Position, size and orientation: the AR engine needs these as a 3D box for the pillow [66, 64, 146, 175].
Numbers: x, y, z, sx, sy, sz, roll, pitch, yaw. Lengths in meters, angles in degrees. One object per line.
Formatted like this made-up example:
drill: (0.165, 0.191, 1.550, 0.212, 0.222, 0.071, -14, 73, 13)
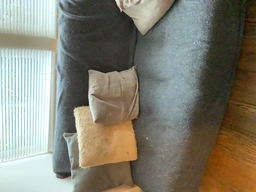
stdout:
pillow: (-0.150, 0.130, 1.500, 0.280, 0.440, 0.650, 12, 99, 37)
